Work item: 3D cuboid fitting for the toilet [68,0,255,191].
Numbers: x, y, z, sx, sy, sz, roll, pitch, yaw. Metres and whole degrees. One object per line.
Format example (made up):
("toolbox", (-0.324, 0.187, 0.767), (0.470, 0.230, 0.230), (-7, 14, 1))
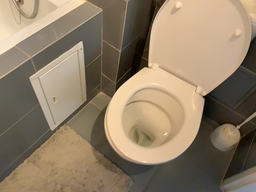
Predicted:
("toilet", (0.160, -0.010, 0.900), (0.390, 0.790, 0.640), (34, 59, 13))
